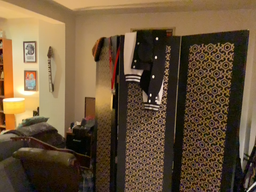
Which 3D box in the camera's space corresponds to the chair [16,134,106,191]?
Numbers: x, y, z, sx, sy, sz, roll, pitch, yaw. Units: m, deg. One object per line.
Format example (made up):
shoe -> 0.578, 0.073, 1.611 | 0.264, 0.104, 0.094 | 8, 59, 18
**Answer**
chair -> -0.640, 0.900, 2.200 | 0.620, 0.790, 0.680 | 3, 7, 11
